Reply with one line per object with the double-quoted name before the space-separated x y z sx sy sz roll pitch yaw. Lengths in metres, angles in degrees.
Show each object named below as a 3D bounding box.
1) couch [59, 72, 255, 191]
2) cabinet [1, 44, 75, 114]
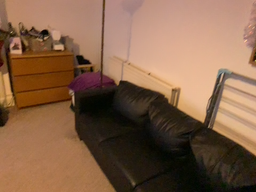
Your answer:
"couch" 0.240 0.490 1.820 1.020 0.720 1.980 -11 29 -32
"cabinet" -1.300 -0.300 3.130 0.860 0.800 0.600 -10 28 -31
